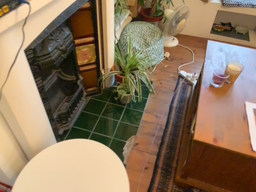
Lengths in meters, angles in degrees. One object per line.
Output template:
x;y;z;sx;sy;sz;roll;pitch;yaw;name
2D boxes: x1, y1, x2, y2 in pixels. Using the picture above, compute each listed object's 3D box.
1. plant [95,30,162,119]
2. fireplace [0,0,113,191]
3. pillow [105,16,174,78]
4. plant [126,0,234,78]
0.010;-0.180;1.700;0.360;0.440;0.480;15;46;10;plant
-0.440;-0.150;1.240;0.370;1.010;1.190;12;46;7;fireplace
0.110;-0.530;2.190;0.480;0.310;0.480;34;52;26;pillow
0.540;-1.120;1.930;0.800;1.560;0.880;15;46;10;plant
